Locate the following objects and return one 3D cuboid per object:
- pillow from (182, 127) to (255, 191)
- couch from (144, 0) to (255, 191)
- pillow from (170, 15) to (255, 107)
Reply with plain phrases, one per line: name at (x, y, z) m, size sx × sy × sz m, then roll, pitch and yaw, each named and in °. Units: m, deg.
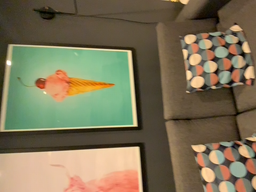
pillow at (0.630, 0.490, 1.260) m, size 0.450 × 0.400 × 0.120 m, roll 57°, pitch 172°, yaw 15°
couch at (0.800, 0.070, 1.380) m, size 1.030 × 0.950 × 1.960 m, roll 129°, pitch 140°, yaw -68°
pillow at (0.610, -0.240, 1.470) m, size 0.450 × 0.430 × 0.150 m, roll 54°, pitch 177°, yaw 12°
